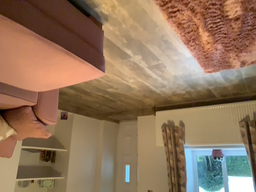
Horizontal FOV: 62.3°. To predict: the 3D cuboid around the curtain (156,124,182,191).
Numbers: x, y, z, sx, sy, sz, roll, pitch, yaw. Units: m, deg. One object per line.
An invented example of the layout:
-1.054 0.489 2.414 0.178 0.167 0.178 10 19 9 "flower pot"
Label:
0.640 1.390 3.250 0.290 1.860 0.270 -8 160 29 "curtain"
